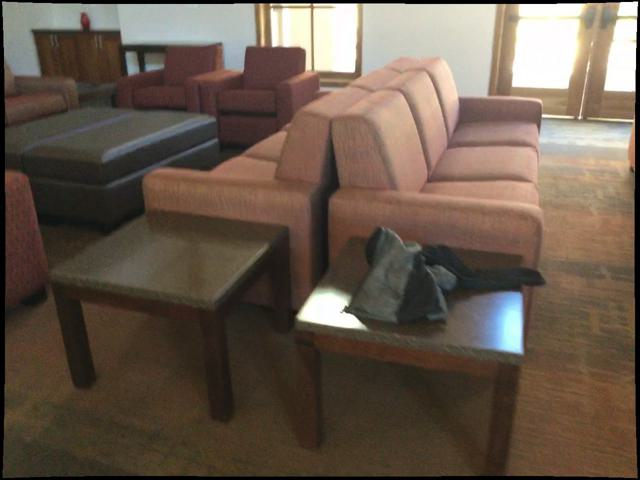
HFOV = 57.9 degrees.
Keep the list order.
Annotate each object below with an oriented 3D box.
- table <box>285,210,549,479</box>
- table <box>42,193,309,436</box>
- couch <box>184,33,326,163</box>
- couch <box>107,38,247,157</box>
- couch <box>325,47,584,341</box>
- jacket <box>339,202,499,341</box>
[{"bbox_3d":[0.320,0.310,1.850,0.659,0.520,0.620,12,28,18],"label":"table"},{"bbox_3d":[-0.480,0.220,2.160,0.659,0.490,0.670,12,28,18],"label":"table"},{"bbox_3d":[-0.529,-1.241,4.950,0.929,0.861,0.730,12,28,18],"label":"couch"},{"bbox_3d":[-1.249,-1.311,5.210,0.899,0.821,0.750,12,28,18],"label":"couch"},{"bbox_3d":[0.789,-0.460,2.910,0.769,0.781,2.160,11,25,18],"label":"couch"},{"bbox_3d":[0.300,0.070,1.700,0.370,0.180,0.390,12,28,18],"label":"jacket"}]
